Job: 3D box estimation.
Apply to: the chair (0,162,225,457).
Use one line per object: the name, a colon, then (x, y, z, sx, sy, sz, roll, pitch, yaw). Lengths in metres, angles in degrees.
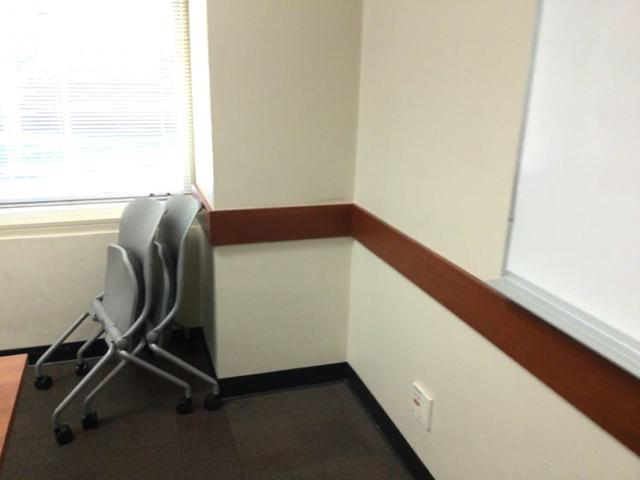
chair: (-0.860, 0.210, 2.350, 0.780, 0.940, 0.650, -2, 17, -23)
